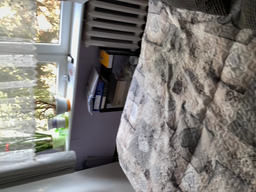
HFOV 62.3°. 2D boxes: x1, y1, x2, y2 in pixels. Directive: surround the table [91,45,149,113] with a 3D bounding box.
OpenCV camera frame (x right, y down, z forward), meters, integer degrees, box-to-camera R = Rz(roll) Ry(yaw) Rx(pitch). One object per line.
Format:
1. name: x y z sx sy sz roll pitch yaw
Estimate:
1. table: -0.100 -0.180 2.300 0.250 0.470 0.650 42 128 51
